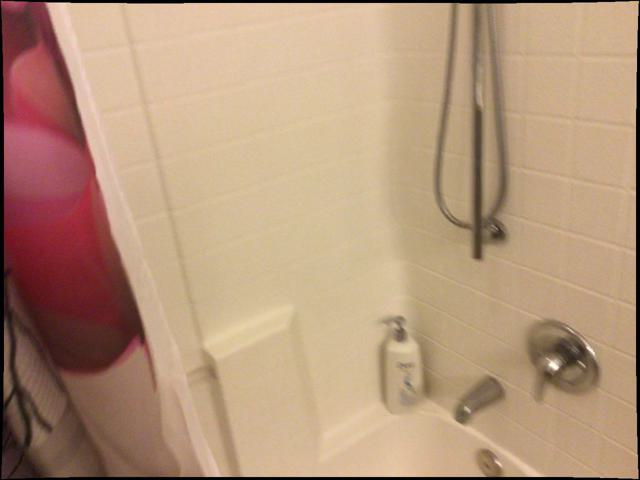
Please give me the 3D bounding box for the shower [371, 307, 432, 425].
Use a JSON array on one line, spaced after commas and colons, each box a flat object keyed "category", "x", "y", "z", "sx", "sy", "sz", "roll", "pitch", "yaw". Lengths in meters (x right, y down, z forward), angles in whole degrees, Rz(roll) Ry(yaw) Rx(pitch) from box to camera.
[{"category": "shower", "x": 0.229, "y": 0.351, "z": 1.610, "sx": 0.100, "sy": 0.291, "sz": 0.120, "roll": -22, "pitch": 31, "yaw": -26}]
